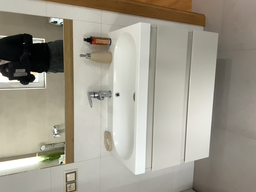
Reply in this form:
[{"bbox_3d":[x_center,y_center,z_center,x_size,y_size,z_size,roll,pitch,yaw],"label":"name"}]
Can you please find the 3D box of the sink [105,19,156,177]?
[{"bbox_3d":[-0.010,0.000,1.270,0.400,0.100,0.810,16,107,59],"label":"sink"}]
